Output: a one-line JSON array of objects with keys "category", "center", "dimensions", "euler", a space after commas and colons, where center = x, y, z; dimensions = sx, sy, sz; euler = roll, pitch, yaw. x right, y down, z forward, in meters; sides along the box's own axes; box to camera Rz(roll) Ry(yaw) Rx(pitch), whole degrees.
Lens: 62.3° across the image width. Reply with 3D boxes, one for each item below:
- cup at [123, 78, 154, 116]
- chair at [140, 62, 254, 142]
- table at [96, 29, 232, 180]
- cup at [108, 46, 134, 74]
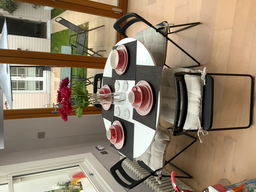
[{"category": "cup", "center": [0.070, 0.000, 1.580], "dimensions": [0.270, 0.090, 0.250], "euler": [13, 102, 59]}, {"category": "chair", "center": [0.530, 0.020, 1.690], "dimensions": [0.530, 0.680, 0.490], "euler": [8, 97, 59]}, {"category": "table", "center": [0.250, 0.010, 2.100], "dimensions": [1.070, 0.750, 1.050], "euler": [14, 102, 59]}, {"category": "cup", "center": [-0.070, -0.320, 1.910], "dimensions": [0.280, 0.110, 0.230], "euler": [15, 103, 59]}]
